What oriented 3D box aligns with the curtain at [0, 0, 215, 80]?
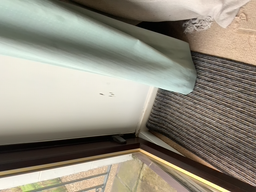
[{"bbox_3d":[-0.490,-0.300,0.560,0.350,2.430,0.170,30,109,43],"label":"curtain"}]
